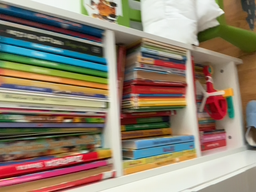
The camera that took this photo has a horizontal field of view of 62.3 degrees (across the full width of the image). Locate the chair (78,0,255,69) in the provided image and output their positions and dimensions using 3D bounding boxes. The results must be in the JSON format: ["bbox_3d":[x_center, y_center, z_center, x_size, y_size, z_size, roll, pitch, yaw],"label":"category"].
[{"bbox_3d":[0.190,-0.370,0.850,0.390,0.660,0.370,-11,80,51],"label":"chair"}]
